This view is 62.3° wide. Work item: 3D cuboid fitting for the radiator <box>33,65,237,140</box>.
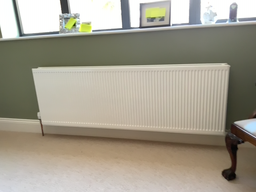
[{"bbox_3d":[-0.010,0.040,1.980,1.800,0.620,0.120,1,17,14],"label":"radiator"}]
